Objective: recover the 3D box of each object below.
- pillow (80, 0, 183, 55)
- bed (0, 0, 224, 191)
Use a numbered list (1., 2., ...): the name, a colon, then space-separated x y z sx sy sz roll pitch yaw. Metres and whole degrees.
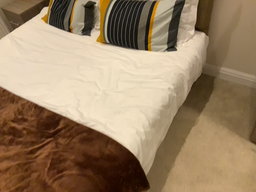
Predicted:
1. pillow: 0.000 -0.490 1.490 0.640 0.350 0.160 4 62 46
2. bed: -0.580 0.070 1.580 1.720 0.520 2.150 23 57 27
